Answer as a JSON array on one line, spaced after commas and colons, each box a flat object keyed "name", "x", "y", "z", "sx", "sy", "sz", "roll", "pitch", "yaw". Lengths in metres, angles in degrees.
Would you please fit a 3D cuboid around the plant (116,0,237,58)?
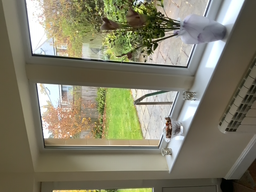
[{"name": "plant", "x": 0.280, "y": -0.490, "z": 1.450, "sx": 0.430, "sy": 0.670, "sz": 0.250, "roll": -103, "pitch": 20, "yaw": -56}]
